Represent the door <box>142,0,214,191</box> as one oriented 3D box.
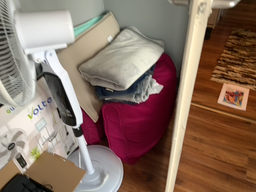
[{"bbox_3d":[0.270,-0.450,0.840,0.140,2.090,1.010,11,43,16],"label":"door"}]
